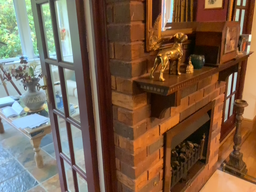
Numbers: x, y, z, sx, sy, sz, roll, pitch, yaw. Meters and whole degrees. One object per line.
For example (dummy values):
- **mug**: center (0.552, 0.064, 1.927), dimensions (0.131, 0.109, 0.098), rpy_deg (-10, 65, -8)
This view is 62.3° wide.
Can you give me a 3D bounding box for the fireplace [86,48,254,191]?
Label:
- **fireplace**: center (0.380, 0.340, 1.540), dimensions (0.480, 1.210, 1.190), rpy_deg (16, 25, 41)
